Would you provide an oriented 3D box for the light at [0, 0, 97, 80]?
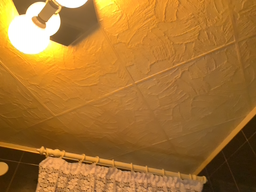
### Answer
[{"bbox_3d":[-0.260,-0.390,0.810,0.270,0.390,0.460,18,-53,-15],"label":"light"}]
